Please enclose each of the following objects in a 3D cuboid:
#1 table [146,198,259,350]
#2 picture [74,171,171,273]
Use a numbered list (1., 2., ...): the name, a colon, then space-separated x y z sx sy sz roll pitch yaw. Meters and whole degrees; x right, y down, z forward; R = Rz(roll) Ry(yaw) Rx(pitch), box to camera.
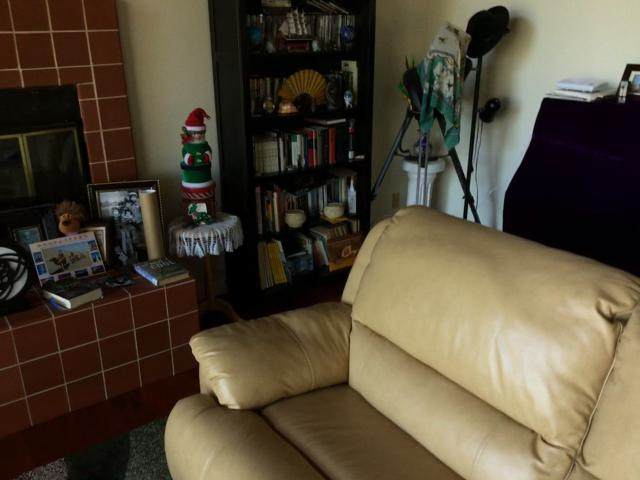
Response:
1. table: -0.620 0.160 3.090 0.420 0.640 0.400 -14 24 -36
2. picture: -0.970 -0.100 2.850 0.340 0.390 0.290 -14 24 -36
